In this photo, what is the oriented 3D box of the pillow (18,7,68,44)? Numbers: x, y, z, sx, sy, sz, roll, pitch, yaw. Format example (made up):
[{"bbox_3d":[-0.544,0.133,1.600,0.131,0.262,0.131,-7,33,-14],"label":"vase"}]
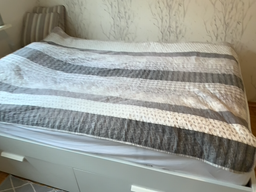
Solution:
[{"bbox_3d":[-0.950,-0.810,2.410,0.350,0.320,0.310,6,34,15],"label":"pillow"}]
